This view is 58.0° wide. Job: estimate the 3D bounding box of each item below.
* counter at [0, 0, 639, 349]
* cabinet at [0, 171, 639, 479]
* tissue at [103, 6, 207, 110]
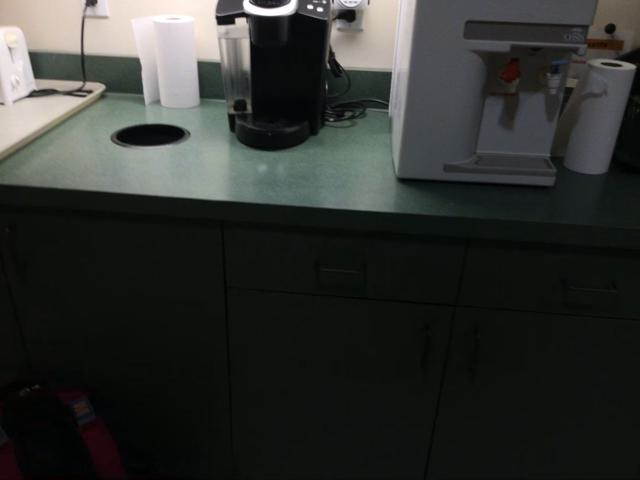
[{"bbox_3d":[0.280,-0.200,1.200,2.640,0.430,0.680,6,30,4],"label":"counter"},{"bbox_3d":[0.240,0.340,1.170,2.640,0.820,0.090,6,30,4],"label":"cabinet"},{"bbox_3d":[-0.400,-0.450,1.430,0.200,0.210,0.120,6,30,4],"label":"tissue"}]
